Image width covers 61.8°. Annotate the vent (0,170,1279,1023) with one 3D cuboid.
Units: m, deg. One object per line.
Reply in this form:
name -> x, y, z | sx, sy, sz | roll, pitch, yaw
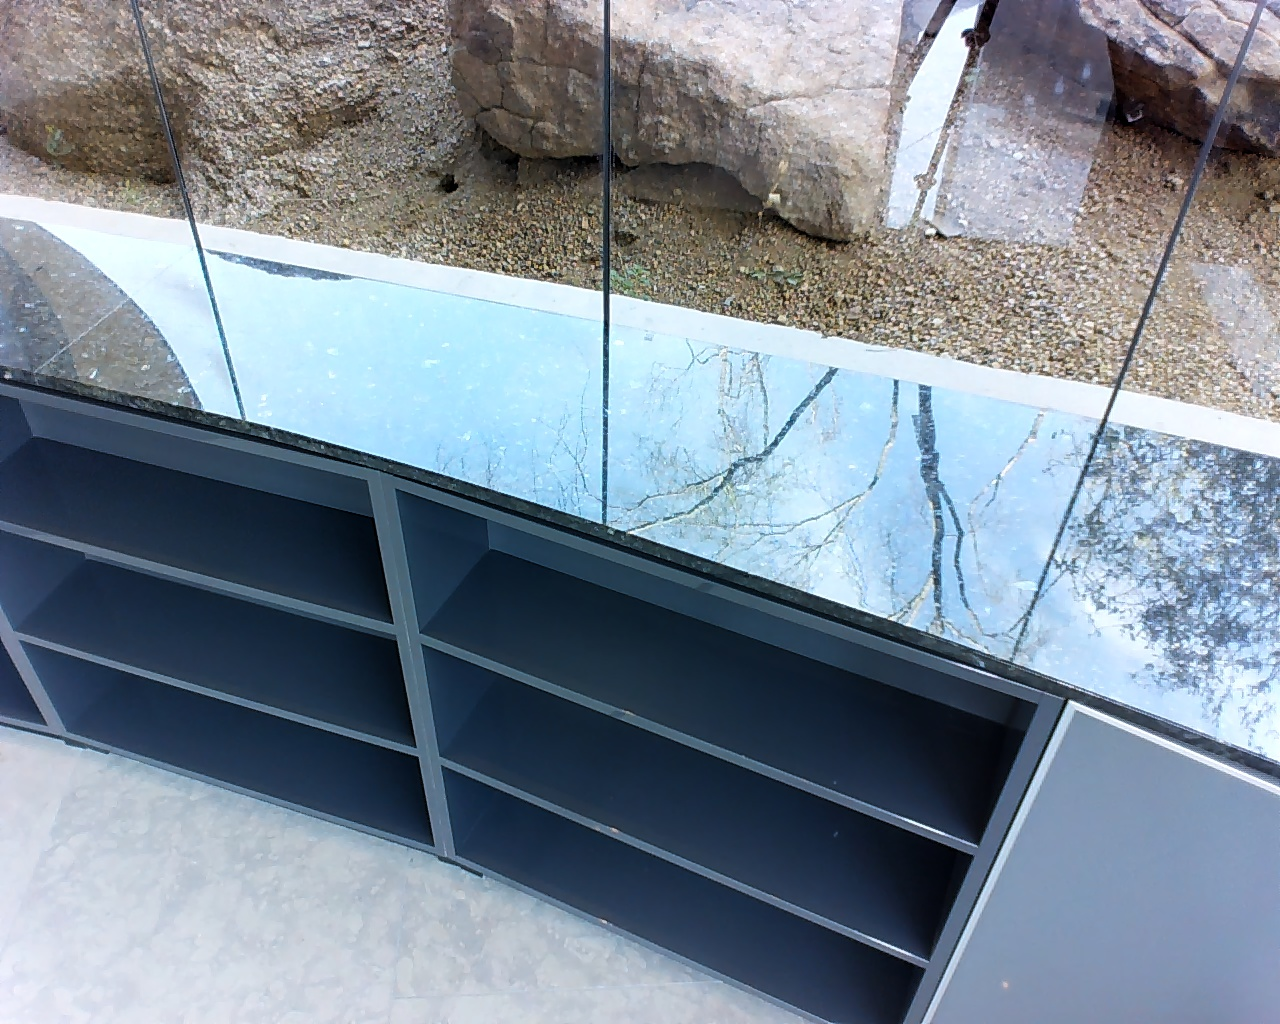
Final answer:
vent -> -0.650, 0.140, 1.560 | 3.809, 0.940, 0.660 | 12, 42, 12
